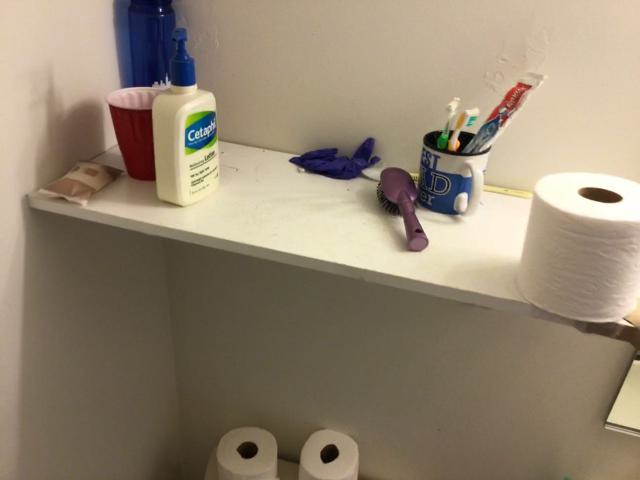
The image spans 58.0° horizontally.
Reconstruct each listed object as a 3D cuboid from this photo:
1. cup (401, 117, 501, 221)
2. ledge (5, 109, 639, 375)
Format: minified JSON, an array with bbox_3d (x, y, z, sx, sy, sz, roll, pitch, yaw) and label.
[{"bbox_3d":[0.180,-0.100,0.790,0.110,0.090,0.110,11,32,13],"label":"cup"},{"bbox_3d":[0.030,-0.040,0.770,0.780,0.070,0.320,11,32,13],"label":"ledge"}]
